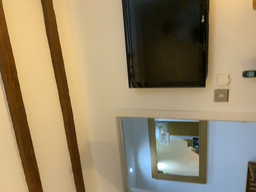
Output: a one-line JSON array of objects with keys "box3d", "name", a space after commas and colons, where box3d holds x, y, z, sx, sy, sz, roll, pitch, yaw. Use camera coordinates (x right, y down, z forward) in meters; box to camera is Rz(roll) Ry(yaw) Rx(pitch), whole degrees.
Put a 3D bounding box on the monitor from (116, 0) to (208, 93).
[{"box3d": [0.230, -0.490, 1.460, 0.040, 0.600, 0.960, -46, -48, -66], "name": "monitor"}]
